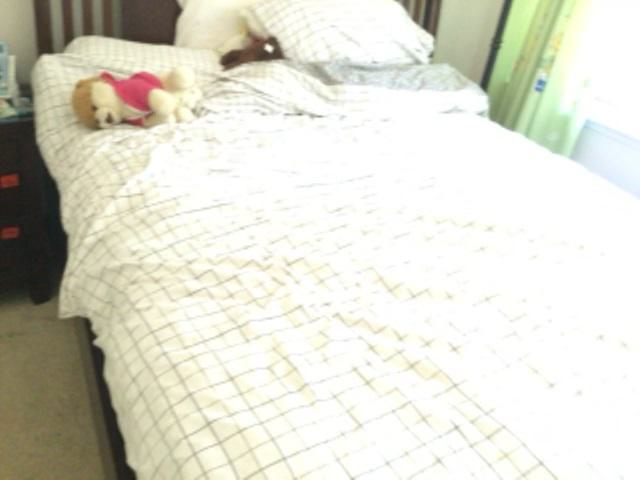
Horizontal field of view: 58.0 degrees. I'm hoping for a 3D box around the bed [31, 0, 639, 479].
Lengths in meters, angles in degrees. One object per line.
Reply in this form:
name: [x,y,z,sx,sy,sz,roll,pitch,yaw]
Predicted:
bed: [0.280,-0.070,1.620,1.840,1.310,2.340,-6,33,-25]
